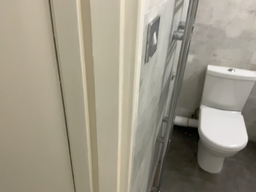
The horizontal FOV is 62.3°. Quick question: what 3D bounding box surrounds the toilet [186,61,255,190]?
[{"bbox_3d":[0.800,0.220,1.850,0.390,0.800,0.690,11,31,13],"label":"toilet"}]
